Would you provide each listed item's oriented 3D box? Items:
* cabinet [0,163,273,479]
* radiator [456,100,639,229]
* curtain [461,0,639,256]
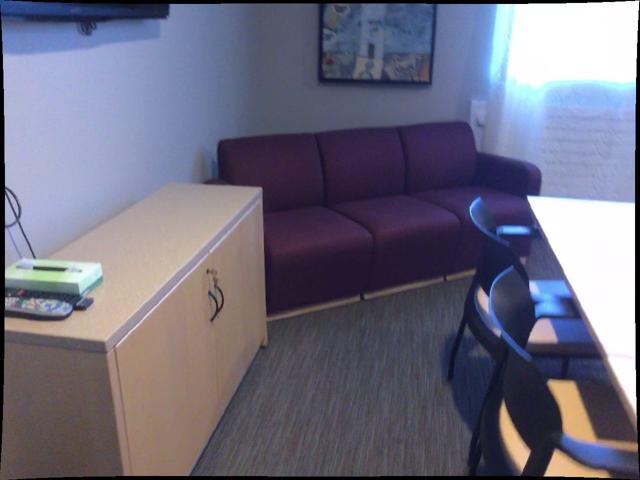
[{"bbox_3d":[-0.609,0.290,2.030,0.569,0.791,1.370,5,21,8],"label":"cabinet"},{"bbox_3d":[1.807,-0.461,3.680,1.757,0.761,0.070,5,21,9],"label":"radiator"},{"bbox_3d":[1.827,-1.122,3.510,1.607,2.383,0.510,5,21,9],"label":"curtain"}]
